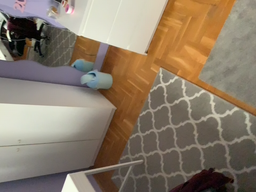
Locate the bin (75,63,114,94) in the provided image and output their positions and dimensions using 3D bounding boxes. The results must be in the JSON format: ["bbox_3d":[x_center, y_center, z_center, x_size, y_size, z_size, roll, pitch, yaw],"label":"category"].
[{"bbox_3d":[-0.390,-0.200,2.450,0.310,0.280,0.240,32,109,44],"label":"bin"}]
